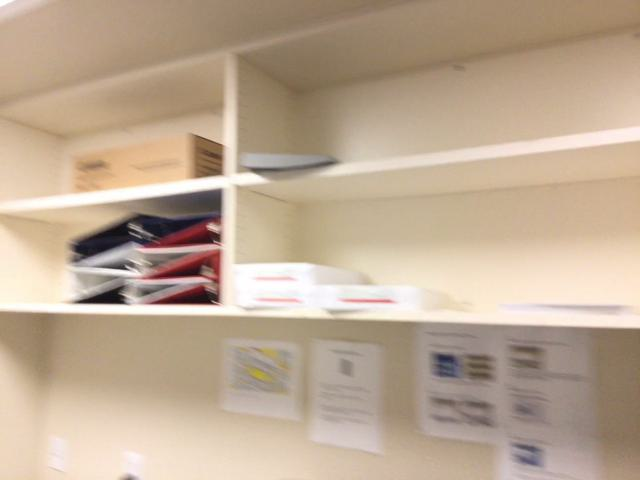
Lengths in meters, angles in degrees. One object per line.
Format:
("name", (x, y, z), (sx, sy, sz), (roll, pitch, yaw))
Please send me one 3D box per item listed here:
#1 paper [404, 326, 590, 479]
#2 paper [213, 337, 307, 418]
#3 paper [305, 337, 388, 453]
("paper", (0.400, 0.450, 1.340), (0.400, 0.480, 0.070), (-3, -13, 31))
("paper", (-0.180, 0.400, 1.710), (0.300, 0.210, 0.030), (-3, -13, 31))
("paper", (0.070, 0.410, 1.560), (0.220, 0.280, 0.030), (-3, -13, 31))
